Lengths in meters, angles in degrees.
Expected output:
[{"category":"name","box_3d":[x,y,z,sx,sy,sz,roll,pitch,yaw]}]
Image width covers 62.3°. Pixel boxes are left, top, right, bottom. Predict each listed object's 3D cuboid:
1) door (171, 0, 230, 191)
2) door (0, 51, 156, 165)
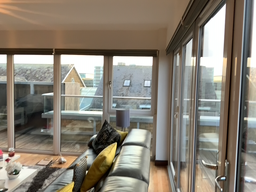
[{"category":"door","box_3d":[0.610,0.410,2.370,0.090,2.030,2.830,2,4,10]},{"category":"door","box_3d":[-1.880,0.200,4.300,4.810,2.190,0.070,2,4,4]}]
